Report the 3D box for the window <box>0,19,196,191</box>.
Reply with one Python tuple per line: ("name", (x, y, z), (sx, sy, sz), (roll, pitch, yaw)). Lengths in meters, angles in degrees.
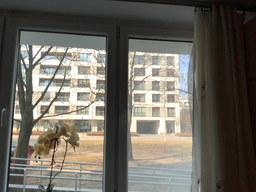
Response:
("window", (-0.630, 0.120, 1.820), (2.440, 1.440, 0.250), (2, -8, -10))
